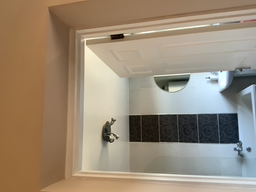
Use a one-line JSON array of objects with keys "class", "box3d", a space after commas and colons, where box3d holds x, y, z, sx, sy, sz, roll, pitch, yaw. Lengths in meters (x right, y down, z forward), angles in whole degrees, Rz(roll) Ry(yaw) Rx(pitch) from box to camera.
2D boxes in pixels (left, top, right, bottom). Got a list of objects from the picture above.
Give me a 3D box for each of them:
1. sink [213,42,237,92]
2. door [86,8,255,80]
[{"class": "sink", "box3d": [1.440, -0.410, 3.180, 0.490, 0.190, 0.630, 27, -118, -76]}, {"class": "door", "box3d": [0.700, -0.310, 1.480, 0.910, 1.730, 0.090, 37, -128, -74]}]
